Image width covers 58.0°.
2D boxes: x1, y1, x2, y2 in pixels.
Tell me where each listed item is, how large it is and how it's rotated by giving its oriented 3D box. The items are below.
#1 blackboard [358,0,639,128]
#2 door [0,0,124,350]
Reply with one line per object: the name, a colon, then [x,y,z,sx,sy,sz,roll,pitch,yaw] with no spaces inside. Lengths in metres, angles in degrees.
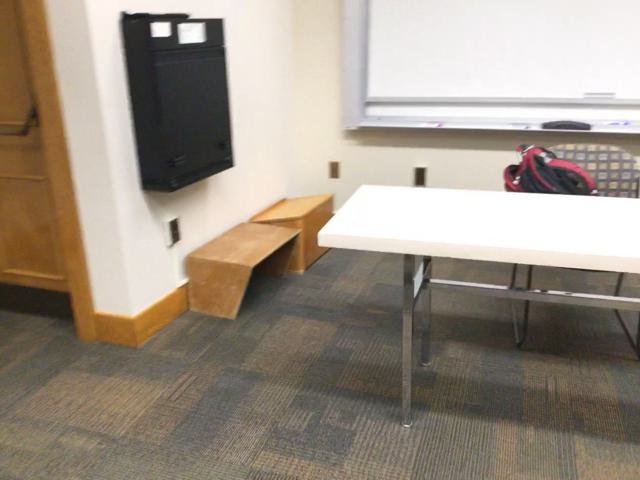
blackboard: [1.600,-1.120,2.510,3.000,1.230,0.200,6,23,25]
door: [-1.140,-0.260,2.460,0.090,1.410,0.580,-22,28,-40]
